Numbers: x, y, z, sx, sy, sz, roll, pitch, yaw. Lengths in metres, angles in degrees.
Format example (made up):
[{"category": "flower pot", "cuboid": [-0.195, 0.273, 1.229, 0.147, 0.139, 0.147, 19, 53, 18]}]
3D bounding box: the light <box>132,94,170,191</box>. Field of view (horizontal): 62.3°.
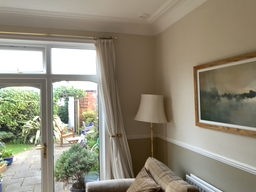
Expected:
[{"category": "light", "cuboid": [0.330, 0.880, 3.010, 0.410, 1.800, 0.340, -1, -1, 29]}]
